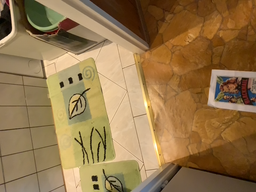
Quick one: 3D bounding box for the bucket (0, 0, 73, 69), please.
[{"bbox_3d":[-0.730,-0.520,1.490,0.360,0.500,0.500,-14,82,24],"label":"bucket"}]
